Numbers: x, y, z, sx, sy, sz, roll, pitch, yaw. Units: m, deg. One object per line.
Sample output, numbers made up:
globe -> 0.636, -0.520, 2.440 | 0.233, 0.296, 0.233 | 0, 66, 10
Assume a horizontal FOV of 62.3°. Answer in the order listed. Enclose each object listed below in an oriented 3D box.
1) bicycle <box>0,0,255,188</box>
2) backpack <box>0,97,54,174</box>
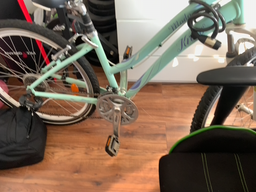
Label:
bicycle -> -0.060, -0.070, 0.950 | 1.450, 0.980, 0.580 | 3, 53, 2
backpack -> -0.720, 0.210, 1.100 | 0.550, 0.230, 0.320 | -1, 53, -1
